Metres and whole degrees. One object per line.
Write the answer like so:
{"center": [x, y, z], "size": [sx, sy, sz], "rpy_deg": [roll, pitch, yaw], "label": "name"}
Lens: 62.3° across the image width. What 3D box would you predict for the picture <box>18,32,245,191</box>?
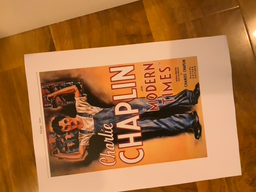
{"center": [0.010, 0.030, 0.300], "size": [0.290, 0.020, 0.210], "rpy_deg": [-6, 90, -4], "label": "picture"}
